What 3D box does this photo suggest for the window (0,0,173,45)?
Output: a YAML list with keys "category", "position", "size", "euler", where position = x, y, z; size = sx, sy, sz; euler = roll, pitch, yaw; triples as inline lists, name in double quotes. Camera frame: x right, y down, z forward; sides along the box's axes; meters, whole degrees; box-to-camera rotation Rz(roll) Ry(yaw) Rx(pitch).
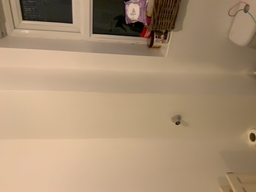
- category: "window"
  position: [-0.240, -0.590, 1.160]
  size: [0.050, 1.010, 0.570]
  euler: [-101, 15, -53]
